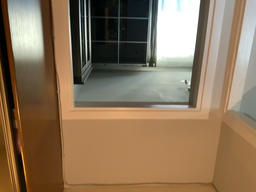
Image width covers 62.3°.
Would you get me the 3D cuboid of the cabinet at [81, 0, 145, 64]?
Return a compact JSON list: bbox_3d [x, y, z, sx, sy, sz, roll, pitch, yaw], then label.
[{"bbox_3d":[-0.390,-2.090,5.550,1.560,2.380,0.580,0,-163,-7],"label":"cabinet"}]
